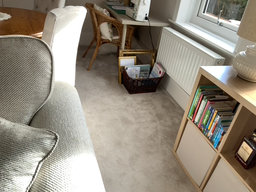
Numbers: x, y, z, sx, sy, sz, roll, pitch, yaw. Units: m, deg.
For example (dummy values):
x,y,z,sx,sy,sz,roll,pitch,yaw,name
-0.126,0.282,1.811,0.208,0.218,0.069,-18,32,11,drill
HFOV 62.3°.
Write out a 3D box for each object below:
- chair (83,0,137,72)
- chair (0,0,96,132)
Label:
x,y,z,sx,sy,sz,roll,pitch,yaw,name
-0.290,-0.820,2.920,0.610,0.790,0.540,2,32,-13,chair
-0.670,-0.300,1.780,0.560,0.960,0.470,19,32,15,chair
